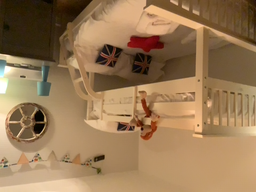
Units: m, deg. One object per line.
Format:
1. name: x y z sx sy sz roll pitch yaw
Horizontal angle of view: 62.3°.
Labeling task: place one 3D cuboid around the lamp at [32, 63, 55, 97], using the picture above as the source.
1. lamp: -1.070 -0.190 2.680 0.190 0.370 0.310 5 175 -31

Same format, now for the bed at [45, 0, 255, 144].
1. bed: 0.160 -0.390 2.490 1.570 1.490 2.230 5 174 -34
